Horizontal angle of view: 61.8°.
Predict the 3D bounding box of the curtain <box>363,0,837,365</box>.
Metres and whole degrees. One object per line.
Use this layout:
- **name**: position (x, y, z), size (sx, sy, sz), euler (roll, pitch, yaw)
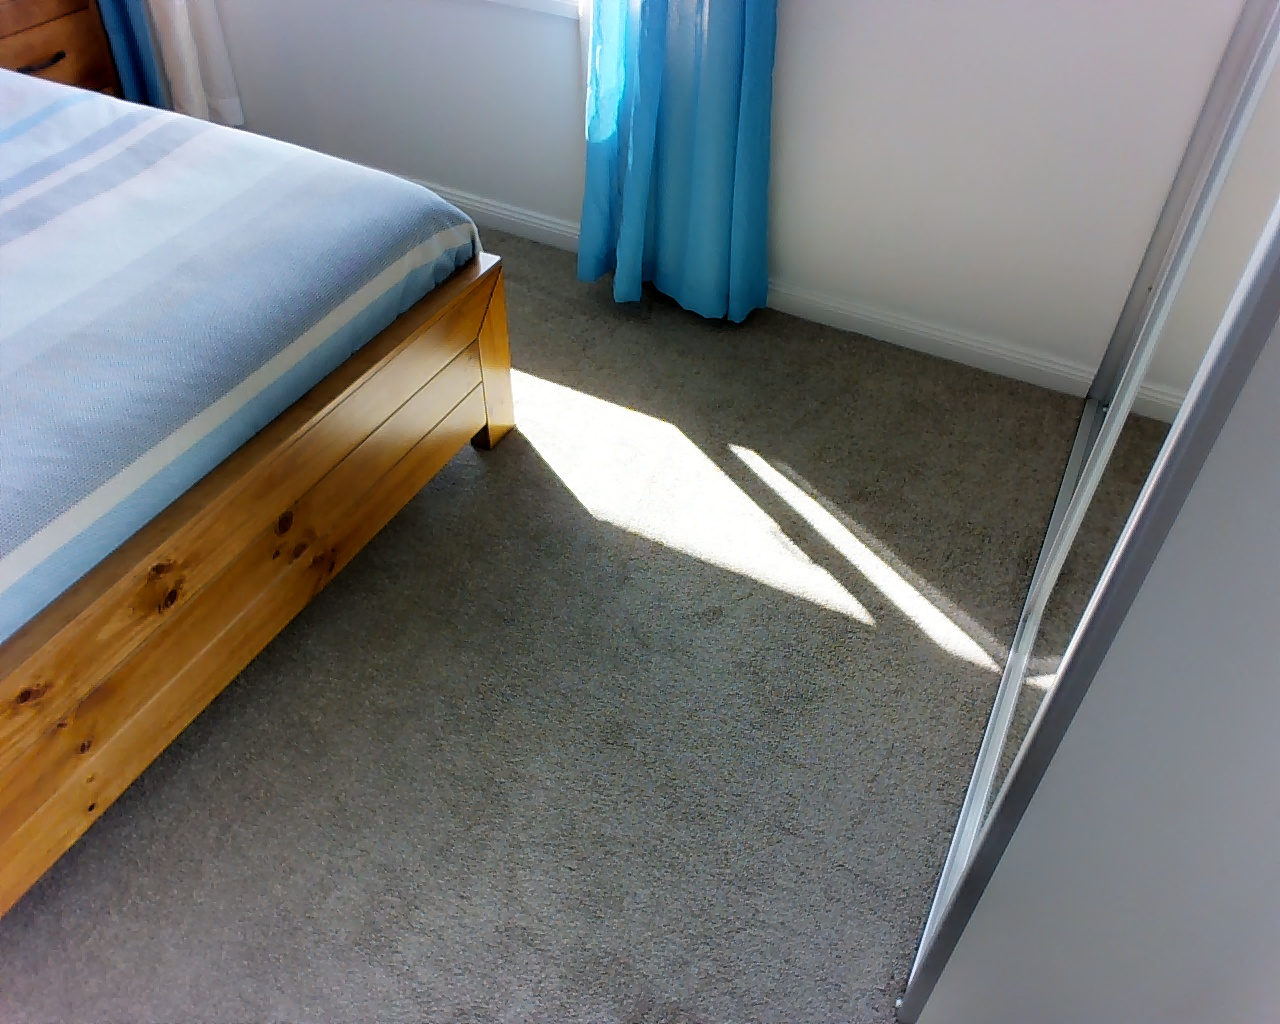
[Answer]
- **curtain**: position (-0.100, -1.460, 2.160), size (1.070, 2.280, 0.270), euler (19, 45, 18)
